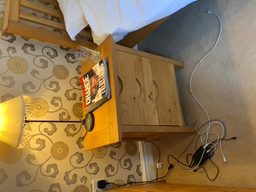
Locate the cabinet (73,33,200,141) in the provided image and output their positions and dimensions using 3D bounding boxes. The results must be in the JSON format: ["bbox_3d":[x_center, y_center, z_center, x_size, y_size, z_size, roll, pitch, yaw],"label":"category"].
[{"bbox_3d":[0.030,0.010,1.390,0.470,0.630,0.490,-28,61,50],"label":"cabinet"}]
